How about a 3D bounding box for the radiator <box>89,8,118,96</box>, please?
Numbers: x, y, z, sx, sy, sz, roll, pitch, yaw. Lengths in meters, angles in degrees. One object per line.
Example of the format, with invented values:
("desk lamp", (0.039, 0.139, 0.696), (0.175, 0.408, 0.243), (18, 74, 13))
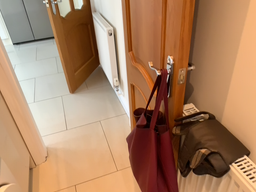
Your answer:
("radiator", (-0.260, -0.470, 2.180), (0.100, 0.670, 0.680), (-12, 36, -12))
